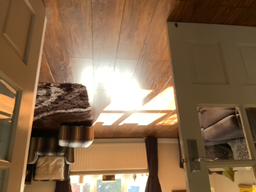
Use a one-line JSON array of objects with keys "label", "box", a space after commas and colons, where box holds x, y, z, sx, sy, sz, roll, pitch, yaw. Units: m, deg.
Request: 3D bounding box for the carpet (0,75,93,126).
[{"label": "carpet", "box": [-1.110, 0.150, 2.810, 1.200, 0.040, 1.720, 0, 158, -6]}]
